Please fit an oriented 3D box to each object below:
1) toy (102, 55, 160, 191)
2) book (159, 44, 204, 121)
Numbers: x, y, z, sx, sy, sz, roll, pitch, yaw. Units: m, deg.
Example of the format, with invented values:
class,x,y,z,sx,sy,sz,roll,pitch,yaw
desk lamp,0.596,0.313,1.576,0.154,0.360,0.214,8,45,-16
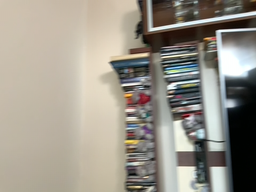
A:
class,x,y,z,sx,sy,sz,roll,pitch,yaw
toy,0.060,0.520,1.530,0.430,0.260,1.520,11,-105,-75
book,0.390,-0.080,1.570,0.220,0.260,0.520,23,-116,-73
